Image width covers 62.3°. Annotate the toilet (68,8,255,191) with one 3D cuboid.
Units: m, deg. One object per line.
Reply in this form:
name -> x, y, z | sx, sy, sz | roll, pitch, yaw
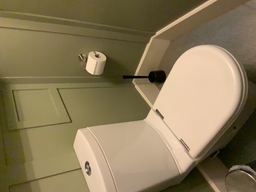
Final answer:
toilet -> 0.250, 0.070, 0.990 | 0.400, 0.840, 0.660 | 57, 136, 36
